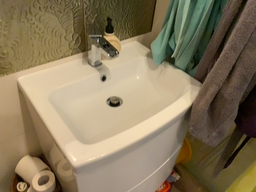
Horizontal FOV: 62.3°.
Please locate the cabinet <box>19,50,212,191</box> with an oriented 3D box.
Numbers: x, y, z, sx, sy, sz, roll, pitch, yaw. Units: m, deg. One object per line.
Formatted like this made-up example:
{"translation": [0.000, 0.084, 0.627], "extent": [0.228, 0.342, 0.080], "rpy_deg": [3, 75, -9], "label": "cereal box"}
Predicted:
{"translation": [-0.060, 0.220, 0.990], "extent": [0.570, 0.590, 0.440], "rpy_deg": [-25, 51, -31], "label": "cabinet"}
